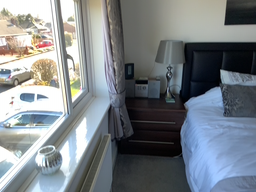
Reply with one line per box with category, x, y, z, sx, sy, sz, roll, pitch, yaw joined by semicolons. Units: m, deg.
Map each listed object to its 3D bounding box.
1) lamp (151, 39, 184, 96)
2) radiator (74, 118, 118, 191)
lamp;0.450;-0.350;2.540;0.330;0.610;0.340;2;19;6
radiator;-0.220;0.720;1.360;0.100;0.550;1.540;1;19;5
